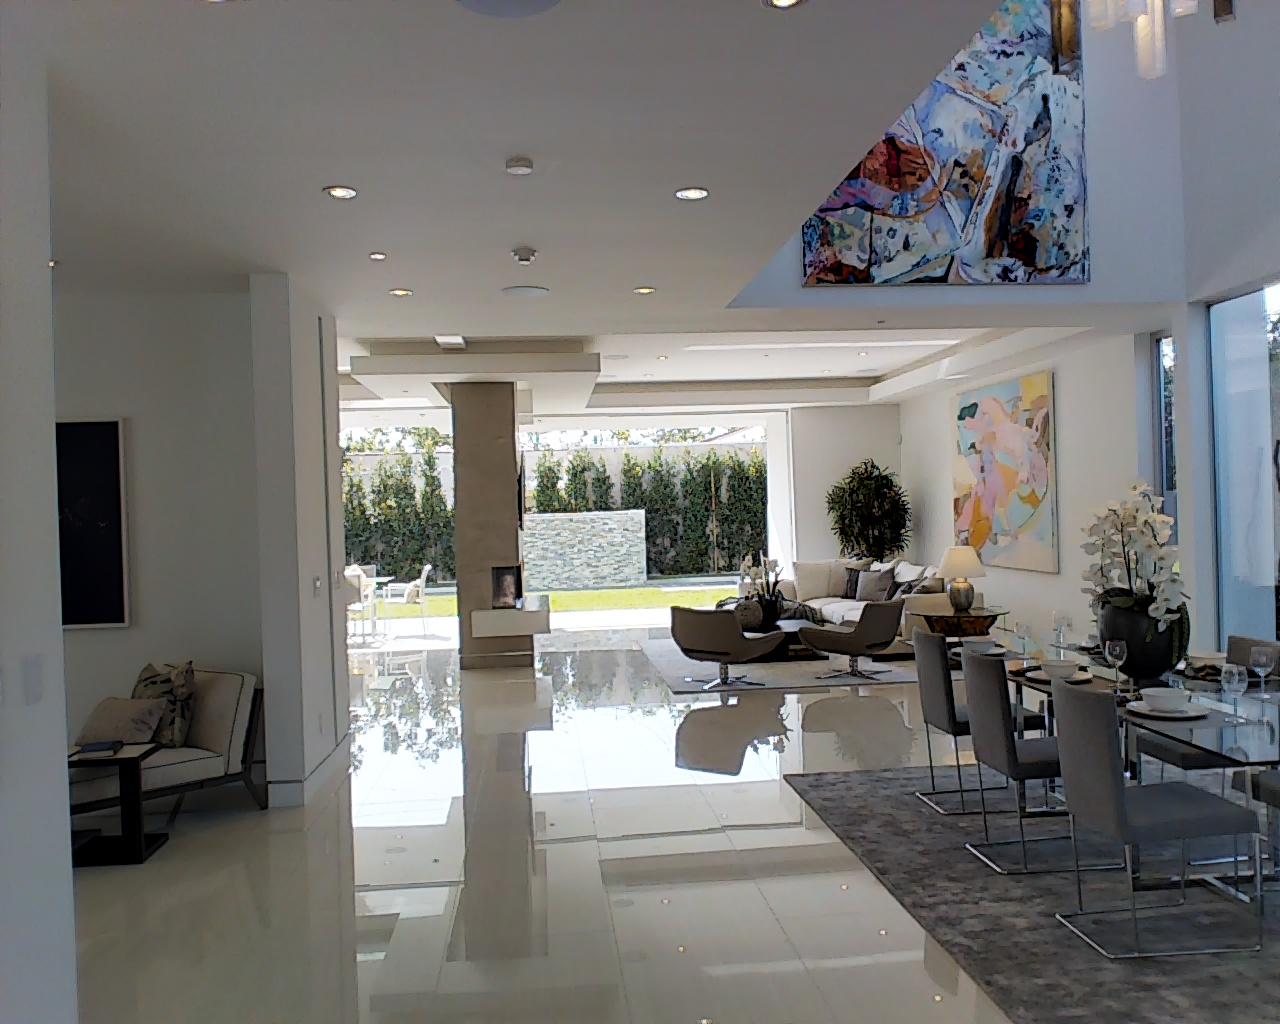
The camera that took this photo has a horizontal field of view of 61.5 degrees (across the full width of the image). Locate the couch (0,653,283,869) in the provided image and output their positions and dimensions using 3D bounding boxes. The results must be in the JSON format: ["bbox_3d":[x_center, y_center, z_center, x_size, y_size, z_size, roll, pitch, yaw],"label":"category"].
[{"bbox_3d":[-2.749,1.191,5.430,0.910,0.710,1.520,-2,0,40],"label":"couch"}]
